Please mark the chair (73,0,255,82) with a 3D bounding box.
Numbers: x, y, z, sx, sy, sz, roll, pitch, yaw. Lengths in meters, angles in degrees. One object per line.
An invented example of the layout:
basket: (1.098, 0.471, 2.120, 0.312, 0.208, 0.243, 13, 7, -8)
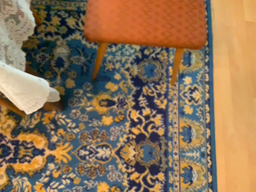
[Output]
chair: (0.080, -0.450, 0.820, 0.430, 0.790, 0.570, 5, 78, -4)
